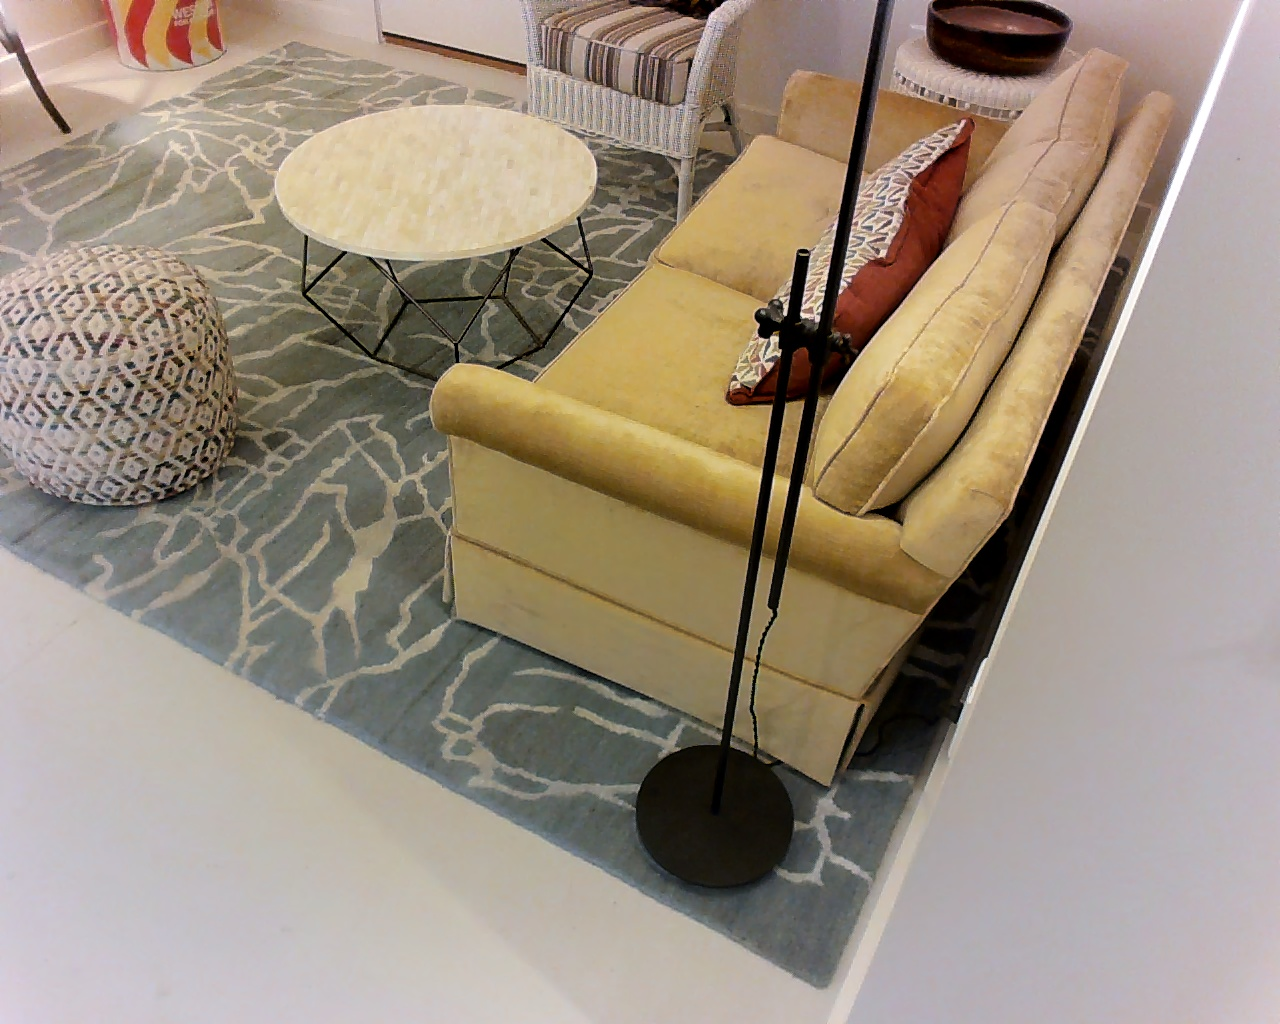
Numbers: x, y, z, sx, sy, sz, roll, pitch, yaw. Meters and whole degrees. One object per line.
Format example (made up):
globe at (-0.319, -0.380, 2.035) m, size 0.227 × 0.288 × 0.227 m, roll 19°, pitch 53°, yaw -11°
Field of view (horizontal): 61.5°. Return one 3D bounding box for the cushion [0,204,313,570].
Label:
cushion at (-1.110, -0.280, 2.260) m, size 0.540 × 0.440 × 0.520 m, roll 16°, pitch 44°, yaw 15°
